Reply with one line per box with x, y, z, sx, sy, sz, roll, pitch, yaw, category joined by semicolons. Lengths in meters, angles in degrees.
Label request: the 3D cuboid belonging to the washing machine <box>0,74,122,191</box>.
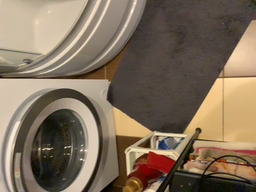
-0.490;0.230;1.010;0.580;0.840;0.610;-1;93;25;washing machine
